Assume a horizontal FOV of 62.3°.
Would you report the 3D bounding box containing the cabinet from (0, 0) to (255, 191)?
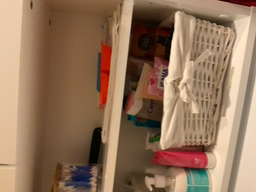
[{"bbox_3d":[0.090,0.130,0.530,0.270,1.870,0.670,-136,51,-78],"label":"cabinet"}]
